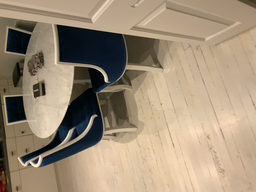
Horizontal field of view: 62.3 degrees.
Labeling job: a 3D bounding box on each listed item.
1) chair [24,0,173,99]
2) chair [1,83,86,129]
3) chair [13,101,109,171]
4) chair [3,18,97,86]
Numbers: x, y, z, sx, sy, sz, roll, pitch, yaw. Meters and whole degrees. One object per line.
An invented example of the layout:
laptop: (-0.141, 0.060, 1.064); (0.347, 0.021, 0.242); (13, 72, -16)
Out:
chair: (-0.230, -0.320, 1.680); (0.590, 0.930, 0.470); (-28, 71, 50)
chair: (-1.150, 0.130, 2.900); (0.570, 0.930, 0.460); (-20, 78, 51)
chair: (-0.760, 0.410, 2.460); (0.470, 0.910, 0.590); (-10, 85, 52)
chair: (-0.970, -0.510, 2.640); (0.450, 0.910, 0.590); (-46, 59, 44)
